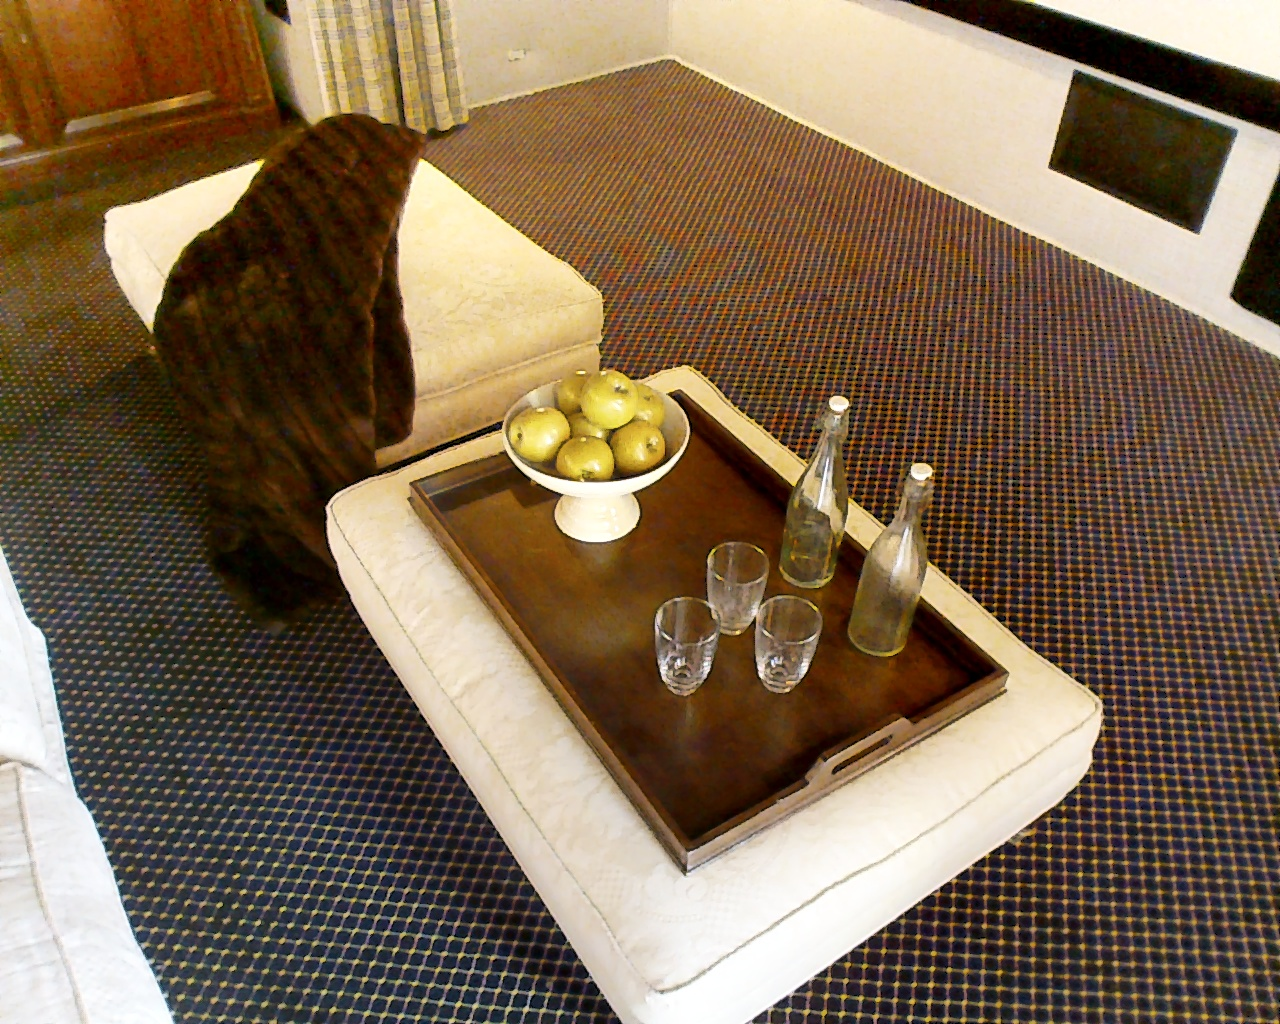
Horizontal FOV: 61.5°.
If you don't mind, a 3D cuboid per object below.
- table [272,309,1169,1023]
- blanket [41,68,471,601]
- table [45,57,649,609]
[{"bbox_3d":[0.050,0.230,1.780,0.860,0.450,1.120,-24,47,-24],"label":"table"},{"bbox_3d":[-0.750,-0.490,2.490,0.590,0.570,1.330,-3,42,-3],"label":"blanket"},{"bbox_3d":[-0.680,-0.510,2.510,0.880,0.570,1.180,-25,48,-25],"label":"table"}]
